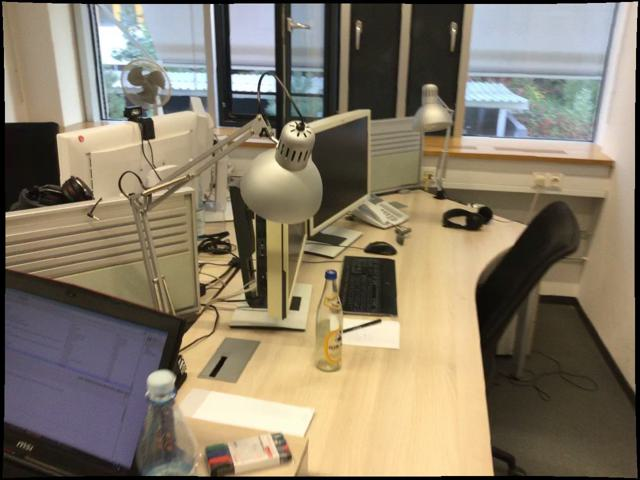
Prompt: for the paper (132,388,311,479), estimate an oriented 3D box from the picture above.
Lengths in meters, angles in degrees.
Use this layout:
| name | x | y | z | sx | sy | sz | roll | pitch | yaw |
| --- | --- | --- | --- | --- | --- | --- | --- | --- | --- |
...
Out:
| name | x | y | z | sx | sy | sz | roll | pitch | yaw |
| --- | --- | --- | --- | --- | --- | --- | --- | --- | --- |
| paper | -0.190 | 0.400 | 1.200 | 0.310 | 0.020 | 0.240 | 3 | 22 | 8 |
